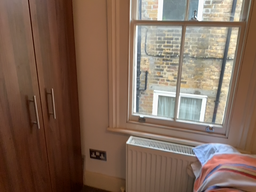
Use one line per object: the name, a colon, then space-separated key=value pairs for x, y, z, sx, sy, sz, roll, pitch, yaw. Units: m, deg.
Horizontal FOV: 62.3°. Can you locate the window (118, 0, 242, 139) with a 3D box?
window: x=0.280 y=-0.360 z=1.320 sx=0.690 sy=1.250 sz=0.070 roll=7 pitch=20 yaw=17
